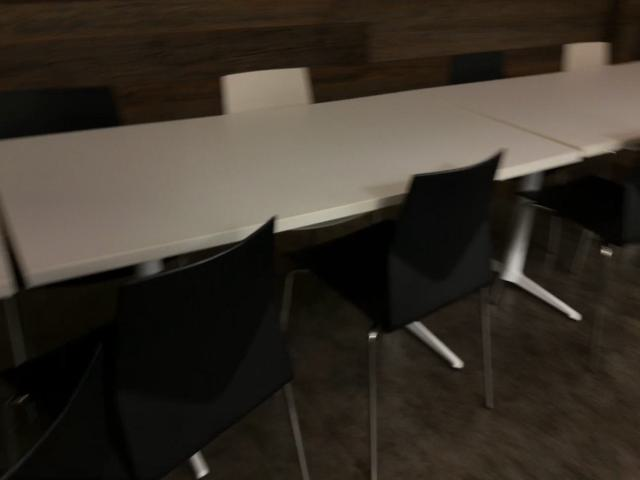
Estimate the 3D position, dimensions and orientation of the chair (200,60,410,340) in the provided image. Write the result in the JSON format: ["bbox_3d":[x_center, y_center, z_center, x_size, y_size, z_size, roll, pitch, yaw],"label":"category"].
[{"bbox_3d":[-0.080,-0.180,2.090,0.500,0.810,0.540,-12,29,-27],"label":"chair"}]

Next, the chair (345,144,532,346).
[{"bbox_3d":[0.290,0.000,1.460,0.400,0.410,0.170,-12,29,-27],"label":"chair"}]

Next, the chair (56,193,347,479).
[{"bbox_3d":[-0.200,0.180,1.040,0.420,0.420,0.220,-12,29,-27],"label":"chair"}]
